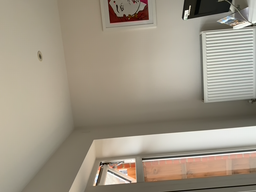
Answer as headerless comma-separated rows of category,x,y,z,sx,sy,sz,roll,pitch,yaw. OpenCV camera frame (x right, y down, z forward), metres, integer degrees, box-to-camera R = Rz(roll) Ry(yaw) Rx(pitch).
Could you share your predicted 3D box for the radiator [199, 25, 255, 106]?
radiator,1.150,-0.340,2.430,0.130,0.600,0.840,-91,-4,-81
